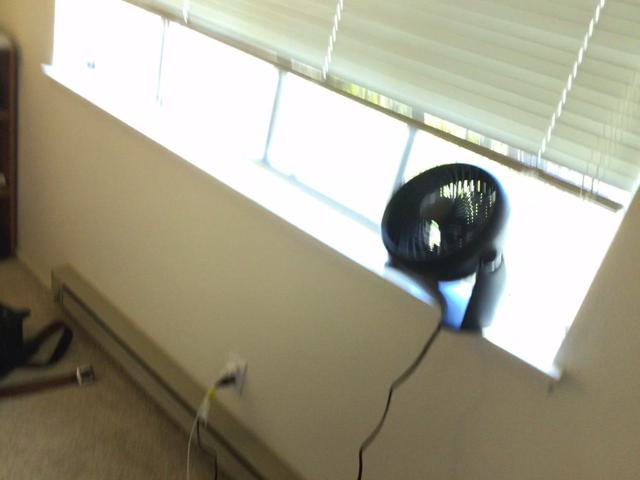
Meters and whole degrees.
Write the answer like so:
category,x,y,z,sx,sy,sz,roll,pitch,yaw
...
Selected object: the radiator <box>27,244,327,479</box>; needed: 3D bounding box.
category,x,y,z,sx,sy,sz,roll,pitch,yaw
radiator,-0.460,0.470,1.790,1.630,0.200,0.100,31,29,30
